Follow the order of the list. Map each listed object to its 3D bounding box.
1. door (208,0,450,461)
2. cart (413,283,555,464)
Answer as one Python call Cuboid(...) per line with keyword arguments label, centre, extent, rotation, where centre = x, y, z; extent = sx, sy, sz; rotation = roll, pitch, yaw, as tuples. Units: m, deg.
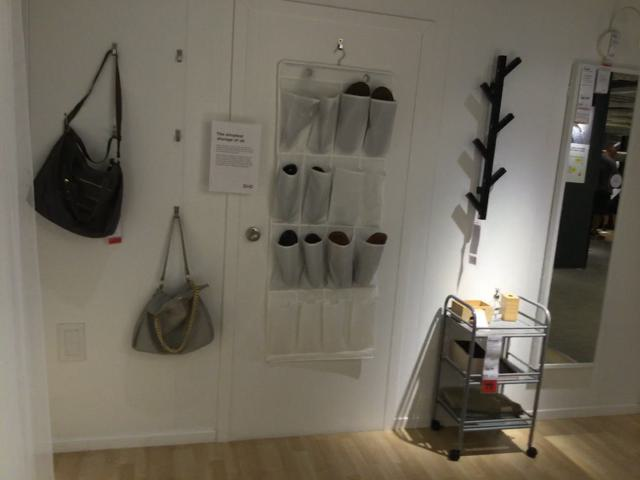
Cuboid(label="door", centre=(0.030, -0.020, 2.670), extent=(1.050, 2.000, 0.160), rotation=(-1, 9, -18))
Cuboid(label="cart", centre=(0.780, 0.620, 2.810), extent=(0.500, 0.740, 0.350), rotation=(-1, 9, -18))
